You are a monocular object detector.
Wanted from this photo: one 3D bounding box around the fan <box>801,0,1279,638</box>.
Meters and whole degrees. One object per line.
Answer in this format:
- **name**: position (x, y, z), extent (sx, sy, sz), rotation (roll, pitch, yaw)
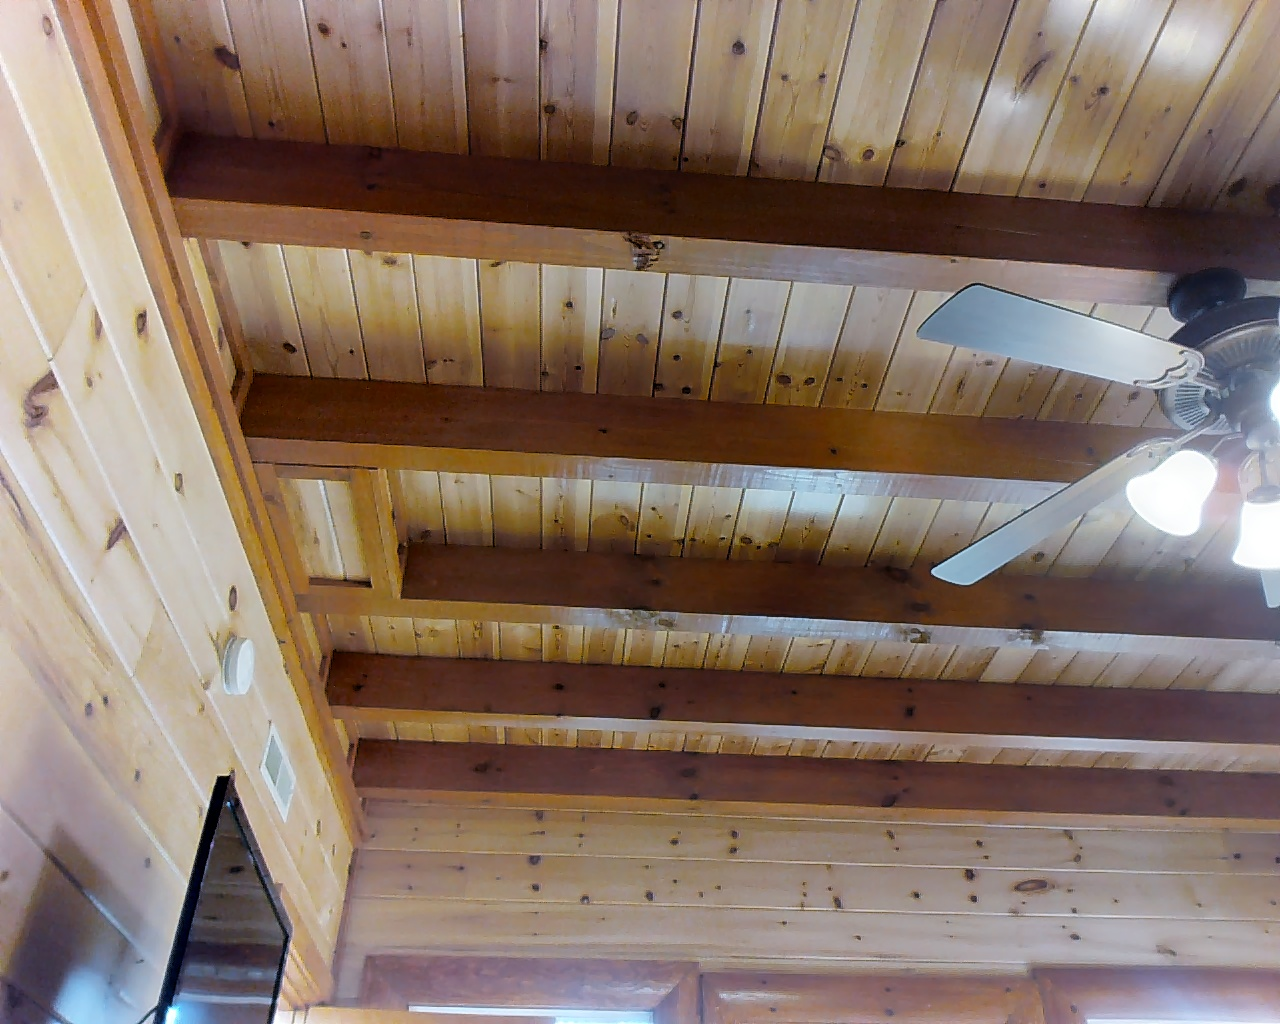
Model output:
- **fan**: position (1.050, -0.280, 1.850), extent (1.280, 0.370, 1.250), rotation (2, -38, -4)
